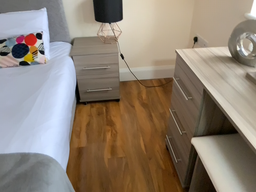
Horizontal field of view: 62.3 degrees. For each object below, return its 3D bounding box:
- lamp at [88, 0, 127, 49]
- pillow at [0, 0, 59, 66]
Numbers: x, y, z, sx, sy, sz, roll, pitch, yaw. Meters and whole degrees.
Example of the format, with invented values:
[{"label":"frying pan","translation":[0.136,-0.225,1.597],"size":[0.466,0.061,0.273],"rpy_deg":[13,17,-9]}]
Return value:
[{"label":"lamp","translation":[-0.180,-0.670,1.860],"size":[0.290,0.400,0.290],"rpy_deg":[-6,35,-7]},{"label":"pillow","translation":[-0.930,-0.510,1.730],"size":[0.570,0.390,0.160],"rpy_deg":[-20,61,7]}]
